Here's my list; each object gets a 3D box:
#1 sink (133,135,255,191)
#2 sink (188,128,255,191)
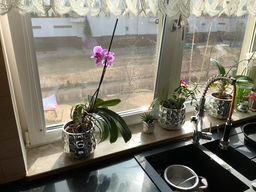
[{"bbox_3d":[0.340,0.480,1.150,0.430,0.210,0.530,-9,24,-24],"label":"sink"},{"bbox_3d":[0.640,0.420,1.270,0.230,0.180,0.530,-9,24,-24],"label":"sink"}]
